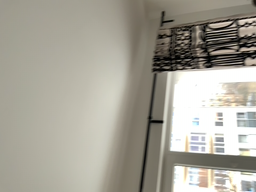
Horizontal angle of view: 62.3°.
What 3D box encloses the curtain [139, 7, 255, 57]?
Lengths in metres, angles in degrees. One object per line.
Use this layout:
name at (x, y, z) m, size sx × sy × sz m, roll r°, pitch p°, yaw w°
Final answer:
curtain at (1.390, -0.670, 1.960) m, size 0.100 × 2.620 × 0.410 m, roll 55°, pitch -141°, yaw -56°
